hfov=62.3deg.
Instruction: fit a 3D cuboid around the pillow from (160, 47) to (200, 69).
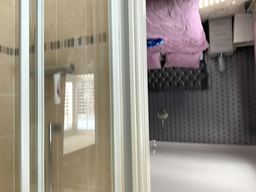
[{"bbox_3d":[0.990,-0.690,3.990,0.670,0.260,0.490,-2,178,19],"label":"pillow"}]
